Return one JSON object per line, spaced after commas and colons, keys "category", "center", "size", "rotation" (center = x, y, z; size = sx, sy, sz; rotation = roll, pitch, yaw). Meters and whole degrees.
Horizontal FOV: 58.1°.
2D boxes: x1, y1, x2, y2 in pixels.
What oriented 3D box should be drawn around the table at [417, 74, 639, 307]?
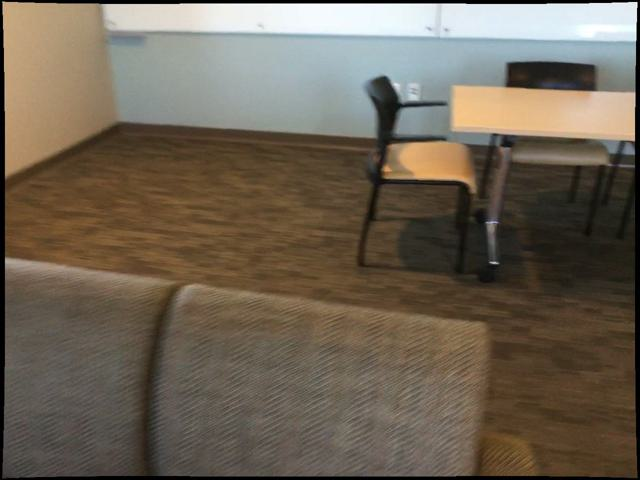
{"category": "table", "center": [1.446, -0.261, 2.600], "size": [1.875, 0.742, 0.930], "rotation": [5, 28, 14]}
